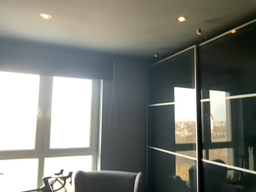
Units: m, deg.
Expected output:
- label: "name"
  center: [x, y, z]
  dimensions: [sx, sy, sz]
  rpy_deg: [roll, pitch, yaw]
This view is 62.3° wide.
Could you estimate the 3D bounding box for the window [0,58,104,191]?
- label: "window"
  center: [-1.130, 0.580, 2.770]
  dimensions: [1.530, 1.990, 0.320]
  rpy_deg: [4, -7, -20]
